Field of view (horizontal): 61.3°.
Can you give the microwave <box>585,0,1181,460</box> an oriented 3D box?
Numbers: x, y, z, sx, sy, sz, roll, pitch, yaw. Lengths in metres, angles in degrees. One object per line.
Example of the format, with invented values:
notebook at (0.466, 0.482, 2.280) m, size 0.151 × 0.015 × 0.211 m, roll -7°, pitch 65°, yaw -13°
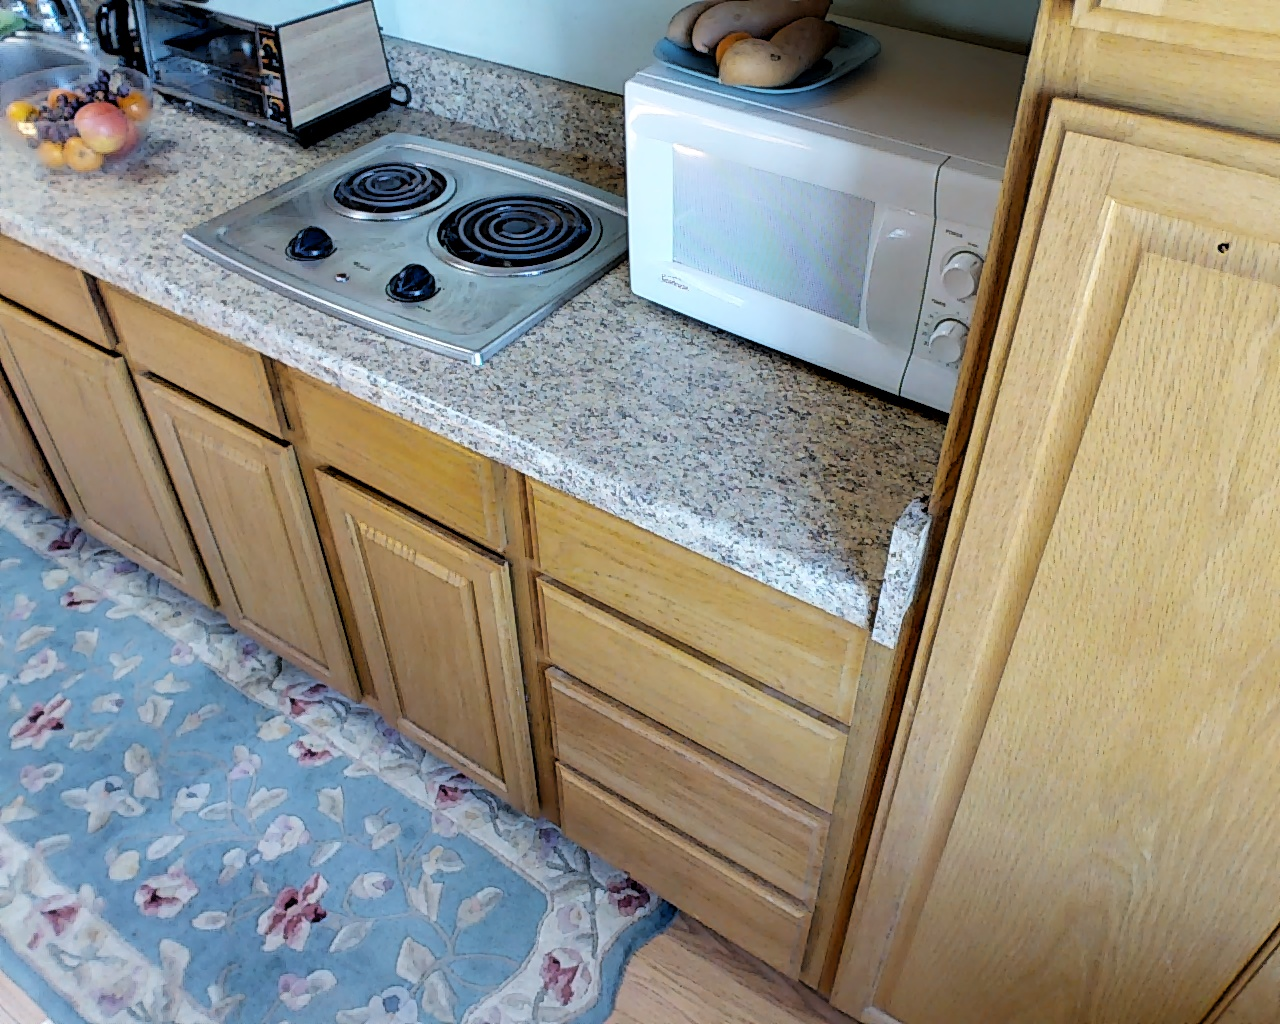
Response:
microwave at (0.250, -0.350, 1.210) m, size 0.510 × 0.290 × 0.340 m, roll 25°, pitch 48°, yaw 25°
